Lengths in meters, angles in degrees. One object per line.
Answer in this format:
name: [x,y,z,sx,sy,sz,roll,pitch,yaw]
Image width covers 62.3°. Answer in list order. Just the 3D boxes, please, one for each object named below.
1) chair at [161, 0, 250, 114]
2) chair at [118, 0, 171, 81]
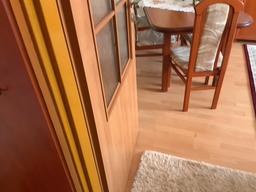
chair: [0.610,-0.430,1.960,0.480,1.020,0.580,-4,36,1]
chair: [0.170,-0.750,2.450,0.480,1.010,0.480,-7,36,-4]
